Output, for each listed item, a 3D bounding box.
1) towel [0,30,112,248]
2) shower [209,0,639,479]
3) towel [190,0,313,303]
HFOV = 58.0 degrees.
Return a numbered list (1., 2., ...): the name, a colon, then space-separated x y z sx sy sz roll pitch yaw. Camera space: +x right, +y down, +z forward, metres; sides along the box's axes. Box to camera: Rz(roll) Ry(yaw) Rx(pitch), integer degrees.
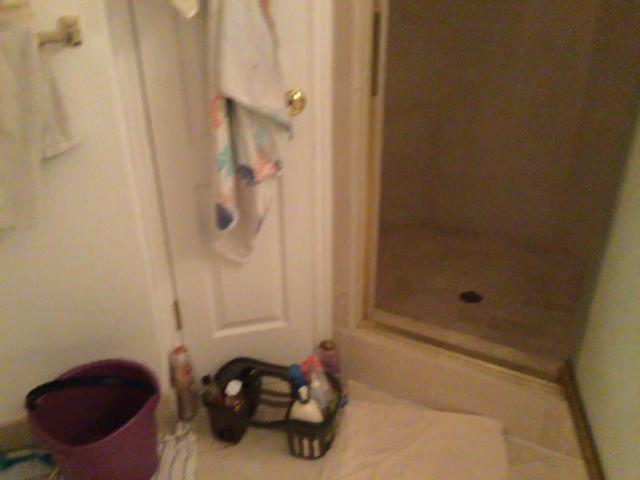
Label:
1. towel: -0.660 -0.210 1.240 0.340 0.430 0.130 -7 29 -15
2. shower: 0.510 -0.360 1.910 1.180 1.430 1.180 15 31 26
3. towel: -0.160 -0.290 1.400 0.240 0.890 0.190 -7 29 -15
